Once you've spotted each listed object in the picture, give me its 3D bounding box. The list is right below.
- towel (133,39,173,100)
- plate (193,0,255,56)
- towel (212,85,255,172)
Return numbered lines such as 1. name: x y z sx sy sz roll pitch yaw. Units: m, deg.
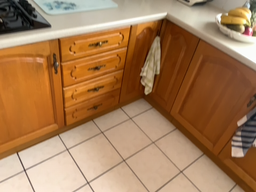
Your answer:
1. towel: 0.190 -0.200 1.790 0.200 0.560 0.090 0 43 -13
2. plate: 0.680 -0.520 1.370 0.270 0.370 0.300 -23 51 -33
3. towel: 0.710 0.190 1.220 0.090 0.570 0.210 -22 51 -32
